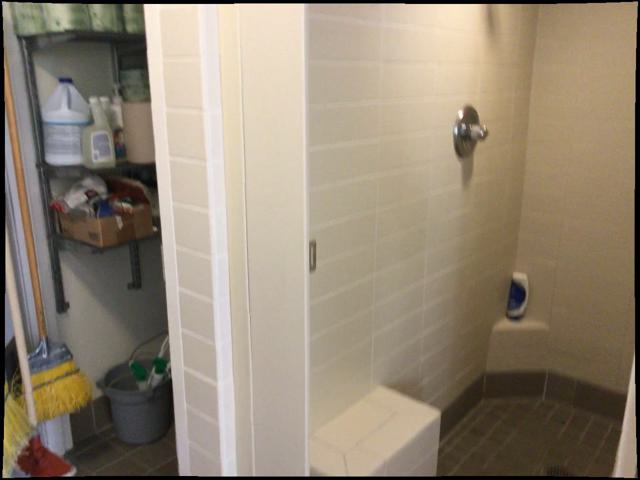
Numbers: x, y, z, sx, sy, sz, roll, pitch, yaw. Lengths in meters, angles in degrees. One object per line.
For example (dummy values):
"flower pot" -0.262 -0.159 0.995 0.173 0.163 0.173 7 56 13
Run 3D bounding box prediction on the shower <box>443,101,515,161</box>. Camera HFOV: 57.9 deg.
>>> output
"shower" 0.549 -0.380 1.980 0.090 0.170 0.330 13 22 39
